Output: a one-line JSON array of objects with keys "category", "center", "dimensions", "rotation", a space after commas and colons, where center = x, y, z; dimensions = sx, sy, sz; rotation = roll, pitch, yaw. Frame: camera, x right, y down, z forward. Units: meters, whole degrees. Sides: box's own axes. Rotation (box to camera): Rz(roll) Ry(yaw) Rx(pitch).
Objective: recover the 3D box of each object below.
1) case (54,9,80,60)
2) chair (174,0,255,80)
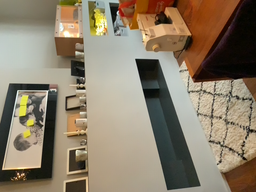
[{"category": "case", "center": [-1.040, -1.080, 3.670], "dimensions": [0.300, 0.390, 0.980], "rotation": [107, 158, -52]}, {"category": "chair", "center": [0.800, -0.450, 1.300], "dimensions": [0.470, 0.790, 0.520], "rotation": [107, 158, -52]}]
